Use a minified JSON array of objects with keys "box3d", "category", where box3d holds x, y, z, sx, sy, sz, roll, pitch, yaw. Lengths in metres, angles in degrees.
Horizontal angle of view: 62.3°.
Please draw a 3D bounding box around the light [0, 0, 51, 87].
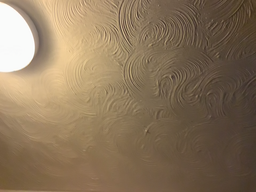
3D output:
[{"box3d":[-0.400,-0.160,0.650,0.220,0.070,0.220,-22,113,22],"category":"light"}]
